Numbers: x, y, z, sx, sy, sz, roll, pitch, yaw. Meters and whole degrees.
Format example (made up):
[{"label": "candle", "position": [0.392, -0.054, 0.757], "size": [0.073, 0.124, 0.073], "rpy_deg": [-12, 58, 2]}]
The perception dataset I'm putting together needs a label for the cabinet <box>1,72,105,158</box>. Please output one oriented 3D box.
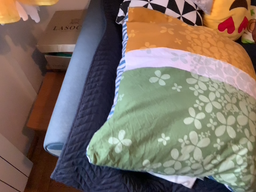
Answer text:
[{"label": "cabinet", "position": [-0.400, 0.120, 1.290], "size": [0.410, 0.380, 0.350], "rpy_deg": [3, 52, 6]}]
